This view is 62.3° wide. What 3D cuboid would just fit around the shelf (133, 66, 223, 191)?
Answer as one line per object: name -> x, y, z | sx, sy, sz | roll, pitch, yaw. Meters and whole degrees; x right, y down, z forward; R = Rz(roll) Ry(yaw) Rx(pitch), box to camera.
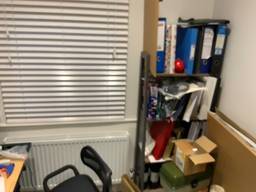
shelf -> 0.380, 0.380, 1.880 | 0.570, 1.250, 0.290 | -1, 20, -10
